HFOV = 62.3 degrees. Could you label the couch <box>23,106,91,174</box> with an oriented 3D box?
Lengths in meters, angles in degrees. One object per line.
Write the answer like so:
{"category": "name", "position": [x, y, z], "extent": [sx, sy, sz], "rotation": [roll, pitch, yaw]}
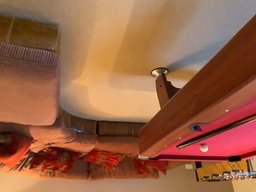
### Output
{"category": "couch", "position": [-1.000, 0.670, 2.980], "extent": [0.430, 0.690, 0.980], "rotation": [21, 145, -39]}

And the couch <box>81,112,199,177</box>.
{"category": "couch", "position": [0.090, 0.860, 3.430], "extent": [1.520, 0.720, 1.180], "rotation": [5, 153, -15]}

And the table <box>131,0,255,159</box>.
{"category": "table", "position": [0.730, -0.190, 1.240], "extent": [0.940, 0.790, 1.740], "rotation": [5, 153, -15]}
